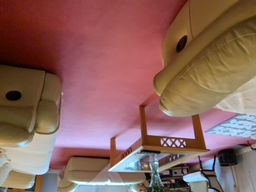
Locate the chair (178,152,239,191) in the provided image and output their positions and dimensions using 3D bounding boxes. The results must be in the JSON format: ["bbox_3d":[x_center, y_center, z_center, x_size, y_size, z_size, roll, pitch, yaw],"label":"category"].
[{"bbox_3d":[1.510,1.620,4.040,0.650,0.900,0.730,7,149,-17],"label":"chair"}]
